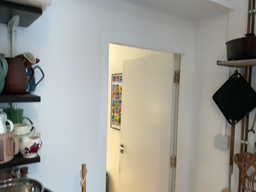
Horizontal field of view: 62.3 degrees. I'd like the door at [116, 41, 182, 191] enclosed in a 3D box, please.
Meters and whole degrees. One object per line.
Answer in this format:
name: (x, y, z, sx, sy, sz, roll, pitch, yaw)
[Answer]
door: (0.150, 0.560, 2.100, 0.040, 2.050, 0.820, -1, 3, -38)
